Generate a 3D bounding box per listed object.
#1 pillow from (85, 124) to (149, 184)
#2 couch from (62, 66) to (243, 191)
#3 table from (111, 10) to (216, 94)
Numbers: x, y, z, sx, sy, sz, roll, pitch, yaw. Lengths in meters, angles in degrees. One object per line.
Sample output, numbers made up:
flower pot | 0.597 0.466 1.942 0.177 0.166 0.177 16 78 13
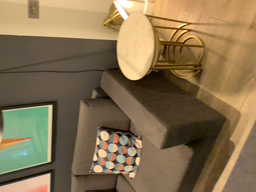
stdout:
pillow | -0.090 0.530 1.900 0.150 0.430 0.450 -110 -3 -54
couch | 0.000 0.820 2.120 1.030 0.950 1.960 43 130 46
table | 0.270 -0.380 1.810 0.490 0.610 0.510 43 130 46
